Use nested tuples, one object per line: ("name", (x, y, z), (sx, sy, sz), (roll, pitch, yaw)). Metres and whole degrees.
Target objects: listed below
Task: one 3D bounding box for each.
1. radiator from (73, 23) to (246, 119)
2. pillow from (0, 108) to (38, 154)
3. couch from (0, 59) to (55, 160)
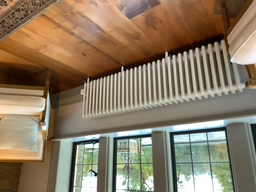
("radiator", (0.140, -0.140, 2.030), (1.670, 0.510, 0.170), (-12, 157, 33))
("pillow", (-1.280, 0.390, 2.330), (0.490, 0.390, 0.220), (-9, 151, -16))
("couch", (-1.260, 0.200, 2.320), (0.700, 0.930, 0.750), (4, 161, -11))
